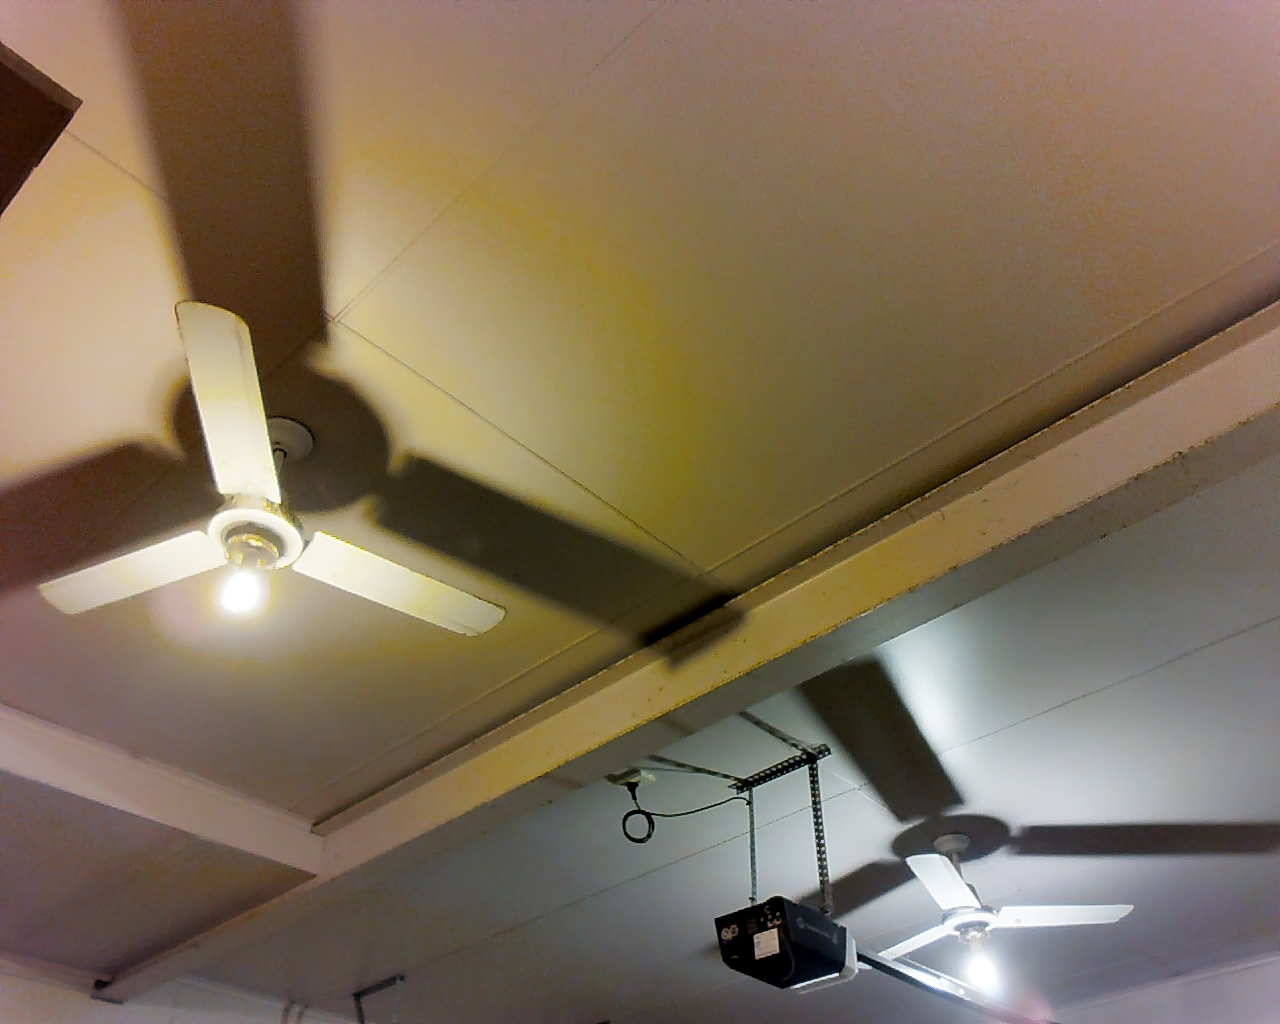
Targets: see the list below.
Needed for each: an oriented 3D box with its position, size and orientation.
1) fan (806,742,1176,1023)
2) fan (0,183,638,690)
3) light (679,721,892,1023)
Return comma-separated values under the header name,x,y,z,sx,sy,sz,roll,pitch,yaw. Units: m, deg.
name,x,y,z,sx,sy,sz,roll,pitch,yaw
fan,1.320,1.410,3.910,1.060,0.390,1.120,-32,-5,30
fan,-0.880,0.000,2.380,1.320,0.260,1.140,-32,-28,30
light,0.430,1.120,3.320,0.400,0.720,0.440,-32,-50,30
